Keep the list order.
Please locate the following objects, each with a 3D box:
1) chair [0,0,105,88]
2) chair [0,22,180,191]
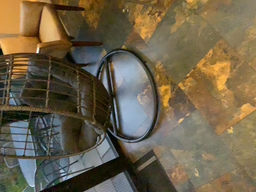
[{"bbox_3d":[-0.840,-0.580,2.270,0.640,0.820,0.620,-49,63,44],"label":"chair"},{"bbox_3d":[-0.570,0.110,1.630,0.960,1.460,0.840,60,137,20],"label":"chair"}]
